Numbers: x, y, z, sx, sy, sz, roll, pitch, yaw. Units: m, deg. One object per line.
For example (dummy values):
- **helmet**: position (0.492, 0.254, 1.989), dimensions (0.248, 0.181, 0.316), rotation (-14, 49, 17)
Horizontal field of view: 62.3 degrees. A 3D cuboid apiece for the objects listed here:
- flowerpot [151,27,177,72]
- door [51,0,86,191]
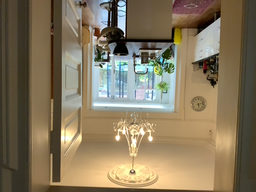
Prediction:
- **flowerpot**: position (0.990, -1.240, 5.820), dimensions (0.640, 1.090, 0.650), rotation (2, -176, 11)
- **door**: position (-0.410, -0.530, 1.590), dimensions (0.130, 2.120, 0.890), rotation (1, -176, -8)
